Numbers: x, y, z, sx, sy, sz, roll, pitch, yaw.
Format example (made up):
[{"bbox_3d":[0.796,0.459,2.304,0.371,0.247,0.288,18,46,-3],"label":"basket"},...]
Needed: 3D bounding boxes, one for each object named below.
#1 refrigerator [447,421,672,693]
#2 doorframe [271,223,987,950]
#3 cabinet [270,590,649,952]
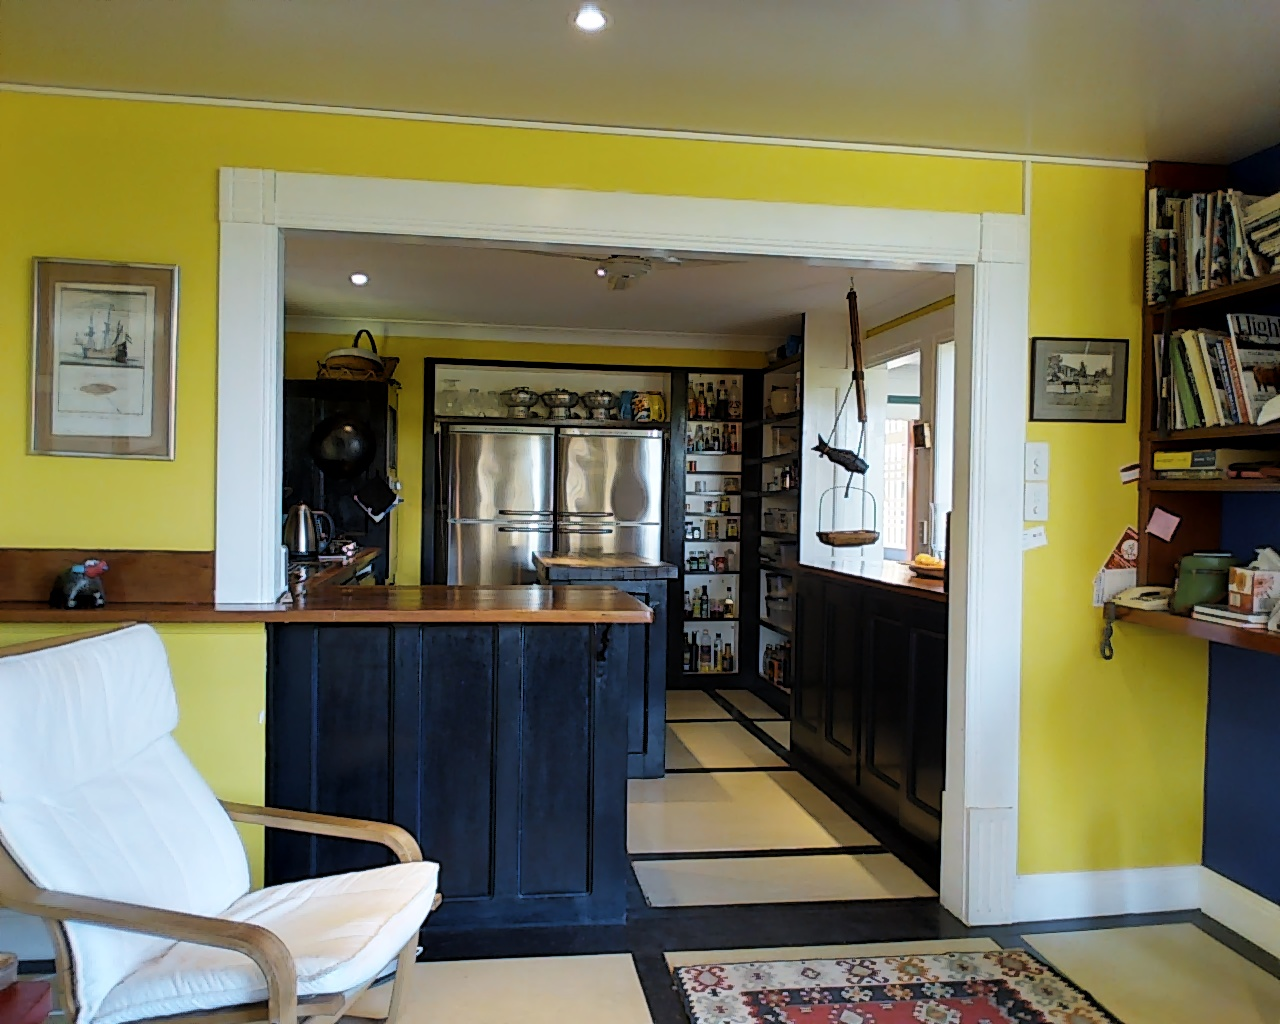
[{"bbox_3d":[-0.530,0.300,7.100,1.440,1.751,0.180,1,1,-8],"label":"refrigerator"},{"bbox_3d":[0.000,0.220,3.140,2.019,1.971,0.170,1,1,-8],"label":"doorframe"},{"bbox_3d":[-0.540,0.740,3.340,1.030,0.930,0.680,1,1,-8],"label":"cabinet"}]
